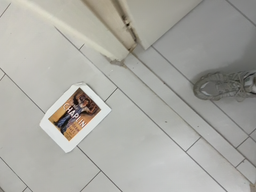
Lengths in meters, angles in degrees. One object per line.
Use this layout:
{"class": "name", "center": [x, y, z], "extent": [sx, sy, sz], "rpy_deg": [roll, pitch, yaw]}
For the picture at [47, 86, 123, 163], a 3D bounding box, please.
{"class": "picture", "center": [-0.200, 0.130, 0.980], "extent": [0.190, 0.060, 0.300], "rpy_deg": [45, 98, 4]}
